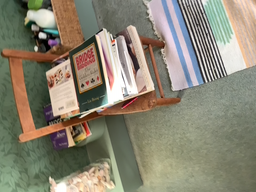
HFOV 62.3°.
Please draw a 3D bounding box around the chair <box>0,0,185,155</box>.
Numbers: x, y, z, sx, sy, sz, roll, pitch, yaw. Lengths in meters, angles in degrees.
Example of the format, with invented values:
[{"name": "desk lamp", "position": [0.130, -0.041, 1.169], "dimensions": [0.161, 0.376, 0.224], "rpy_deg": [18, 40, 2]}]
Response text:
[{"name": "chair", "position": [-0.120, -0.050, 0.880], "dimensions": [0.440, 0.590, 0.360], "rpy_deg": [-21, 82, 33]}]
